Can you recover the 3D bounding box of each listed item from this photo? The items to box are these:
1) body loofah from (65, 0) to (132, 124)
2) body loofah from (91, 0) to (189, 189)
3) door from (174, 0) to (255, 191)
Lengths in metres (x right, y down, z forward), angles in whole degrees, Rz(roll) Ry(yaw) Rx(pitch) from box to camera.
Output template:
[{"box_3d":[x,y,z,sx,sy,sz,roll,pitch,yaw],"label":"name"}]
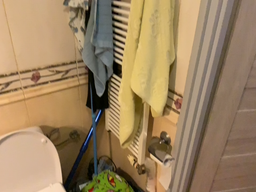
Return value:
[{"box_3d":[-0.160,-0.340,1.160,0.250,0.970,0.240,-18,35,-32],"label":"body loofah"},{"box_3d":[0.020,-0.160,0.970,0.220,1.230,0.350,-18,35,-32],"label":"body loofah"},{"box_3d":[0.760,0.010,1.060,0.900,2.070,0.070,-4,30,-12],"label":"door"}]
